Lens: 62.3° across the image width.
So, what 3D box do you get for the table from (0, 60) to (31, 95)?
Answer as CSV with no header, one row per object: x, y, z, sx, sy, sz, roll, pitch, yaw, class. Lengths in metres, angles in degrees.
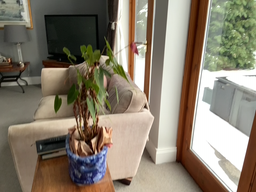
-2.240,-0.360,3.950,0.640,0.480,0.650,-4,21,-14,table

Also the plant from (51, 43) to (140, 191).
-0.160,0.070,1.010,0.310,0.590,0.360,-5,21,-15,plant

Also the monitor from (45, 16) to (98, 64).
-0.990,-0.990,3.690,1.050,0.730,0.090,11,23,27,monitor
